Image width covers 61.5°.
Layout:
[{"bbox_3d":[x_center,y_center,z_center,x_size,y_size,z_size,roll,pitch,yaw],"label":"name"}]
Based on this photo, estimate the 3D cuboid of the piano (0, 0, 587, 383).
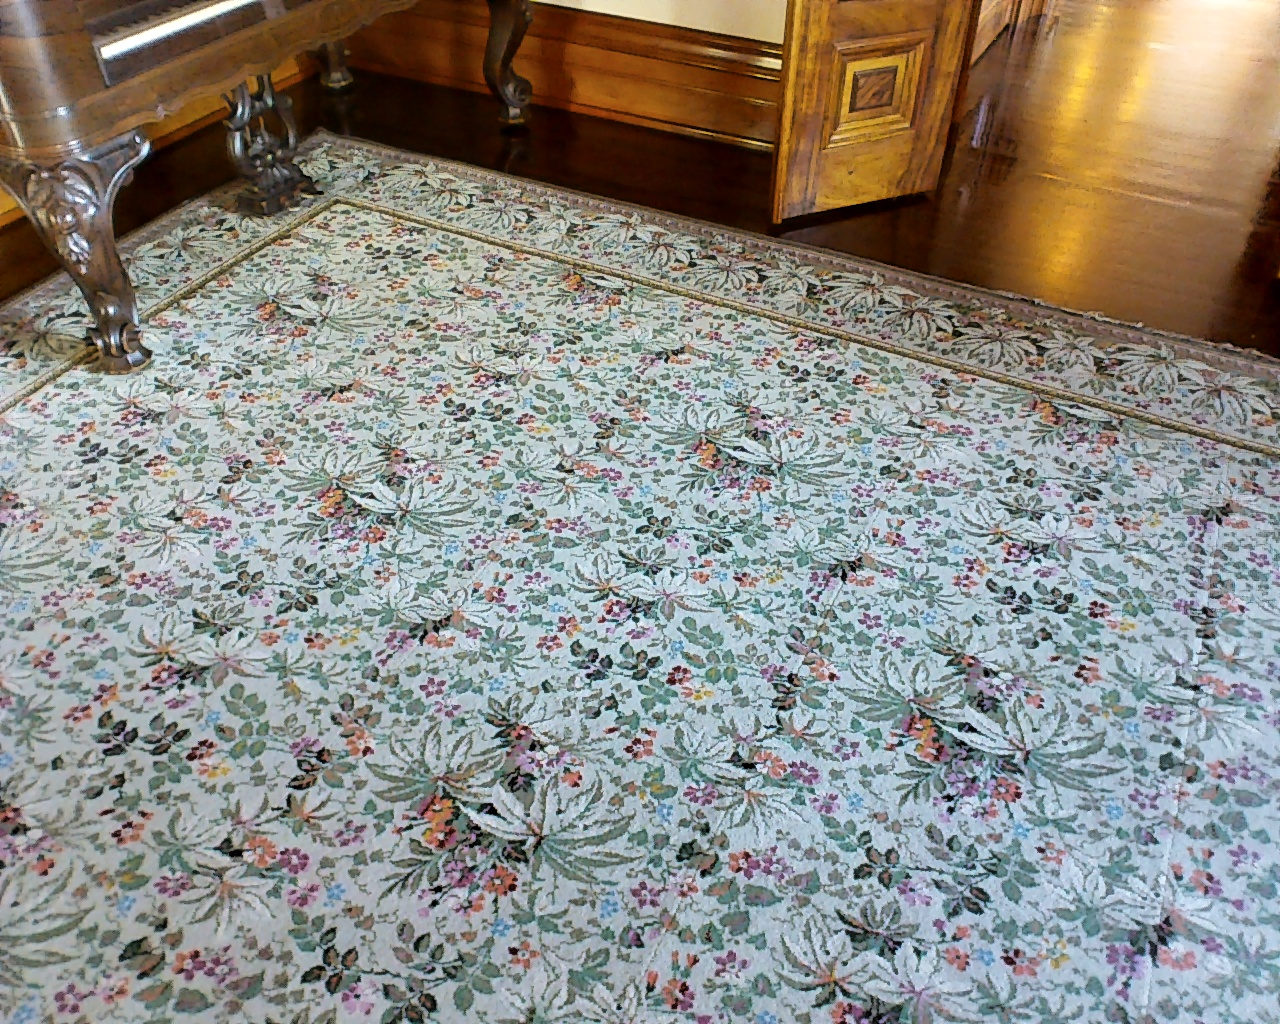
[{"bbox_3d":[-1.240,-1.580,3.300,1.130,1.110,2.270,19,45,21],"label":"piano"}]
